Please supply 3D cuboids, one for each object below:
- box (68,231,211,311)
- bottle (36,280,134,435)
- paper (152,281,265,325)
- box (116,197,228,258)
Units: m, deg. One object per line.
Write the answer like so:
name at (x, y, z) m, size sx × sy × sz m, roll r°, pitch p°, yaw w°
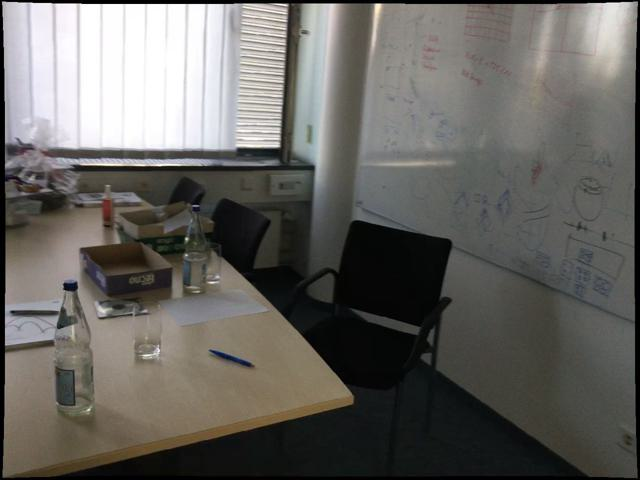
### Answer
box at (-0.619, 0.090, 1.970) m, size 0.320 × 0.090 × 0.420 m, roll -12°, pitch 23°, yaw -39°
bottle at (-0.490, 0.240, 1.210) m, size 0.160 × 0.270 × 0.110 m, roll -7°, pitch 20°, yaw -28°
paper at (-0.350, 0.190, 1.800) m, size 0.290 × 0.010 × 0.220 m, roll -7°, pitch 20°, yaw -28°
box at (-0.609, -0.060, 2.380) m, size 0.390 × 0.150 × 0.260 m, roll -7°, pitch 20°, yaw -28°
